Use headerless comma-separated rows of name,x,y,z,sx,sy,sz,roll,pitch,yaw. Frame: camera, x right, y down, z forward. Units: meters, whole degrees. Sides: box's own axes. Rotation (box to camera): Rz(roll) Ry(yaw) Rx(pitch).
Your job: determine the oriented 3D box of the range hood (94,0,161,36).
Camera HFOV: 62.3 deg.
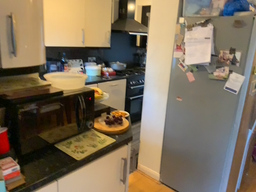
range hood,0.020,-1.450,3.650,0.580,0.730,1.070,16,20,36
